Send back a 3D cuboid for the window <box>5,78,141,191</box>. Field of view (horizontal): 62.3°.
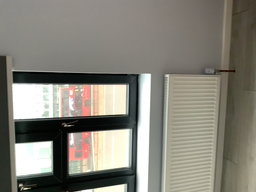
[{"bbox_3d":[-0.430,0.510,1.880,0.090,1.080,1.320,-154,65,-68],"label":"window"}]

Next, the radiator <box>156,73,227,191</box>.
[{"bbox_3d":[0.520,0.550,1.780,0.070,0.570,1.470,-158,69,-69],"label":"radiator"}]
